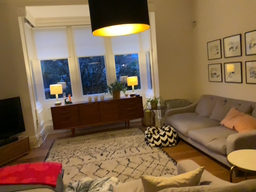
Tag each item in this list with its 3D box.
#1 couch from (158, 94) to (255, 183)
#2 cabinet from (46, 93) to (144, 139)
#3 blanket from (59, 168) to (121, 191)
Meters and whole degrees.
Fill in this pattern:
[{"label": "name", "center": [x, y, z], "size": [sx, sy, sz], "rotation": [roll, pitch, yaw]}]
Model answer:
[{"label": "couch", "center": [1.390, 0.490, 3.590], "size": [1.040, 0.750, 2.100], "rotation": [-6, 8, -12]}, {"label": "cabinet", "center": [-0.740, 0.440, 5.080], "size": [2.150, 0.780, 0.470], "rotation": [-6, 8, -11]}, {"label": "blanket", "center": [-0.410, 1.070, 2.350], "size": [0.650, 0.160, 0.690], "rotation": [-5, 7, -6]}]
